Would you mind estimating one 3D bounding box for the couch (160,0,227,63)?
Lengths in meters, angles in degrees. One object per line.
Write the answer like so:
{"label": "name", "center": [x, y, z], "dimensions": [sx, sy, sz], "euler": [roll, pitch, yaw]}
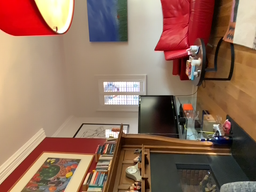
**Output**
{"label": "couch", "center": [0.930, -1.740, 3.240], "dimensions": [1.270, 0.740, 2.290], "euler": [-77, -14, -73]}
